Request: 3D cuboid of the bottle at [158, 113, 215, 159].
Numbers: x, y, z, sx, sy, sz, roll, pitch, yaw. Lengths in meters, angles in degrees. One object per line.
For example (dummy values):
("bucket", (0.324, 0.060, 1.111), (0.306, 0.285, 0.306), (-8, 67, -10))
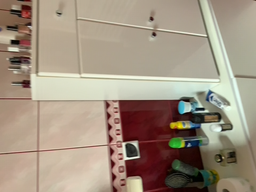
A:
("bottle", (0.310, 0.210, 1.130), (0.100, 0.250, 0.210), (140, 126, -60))
